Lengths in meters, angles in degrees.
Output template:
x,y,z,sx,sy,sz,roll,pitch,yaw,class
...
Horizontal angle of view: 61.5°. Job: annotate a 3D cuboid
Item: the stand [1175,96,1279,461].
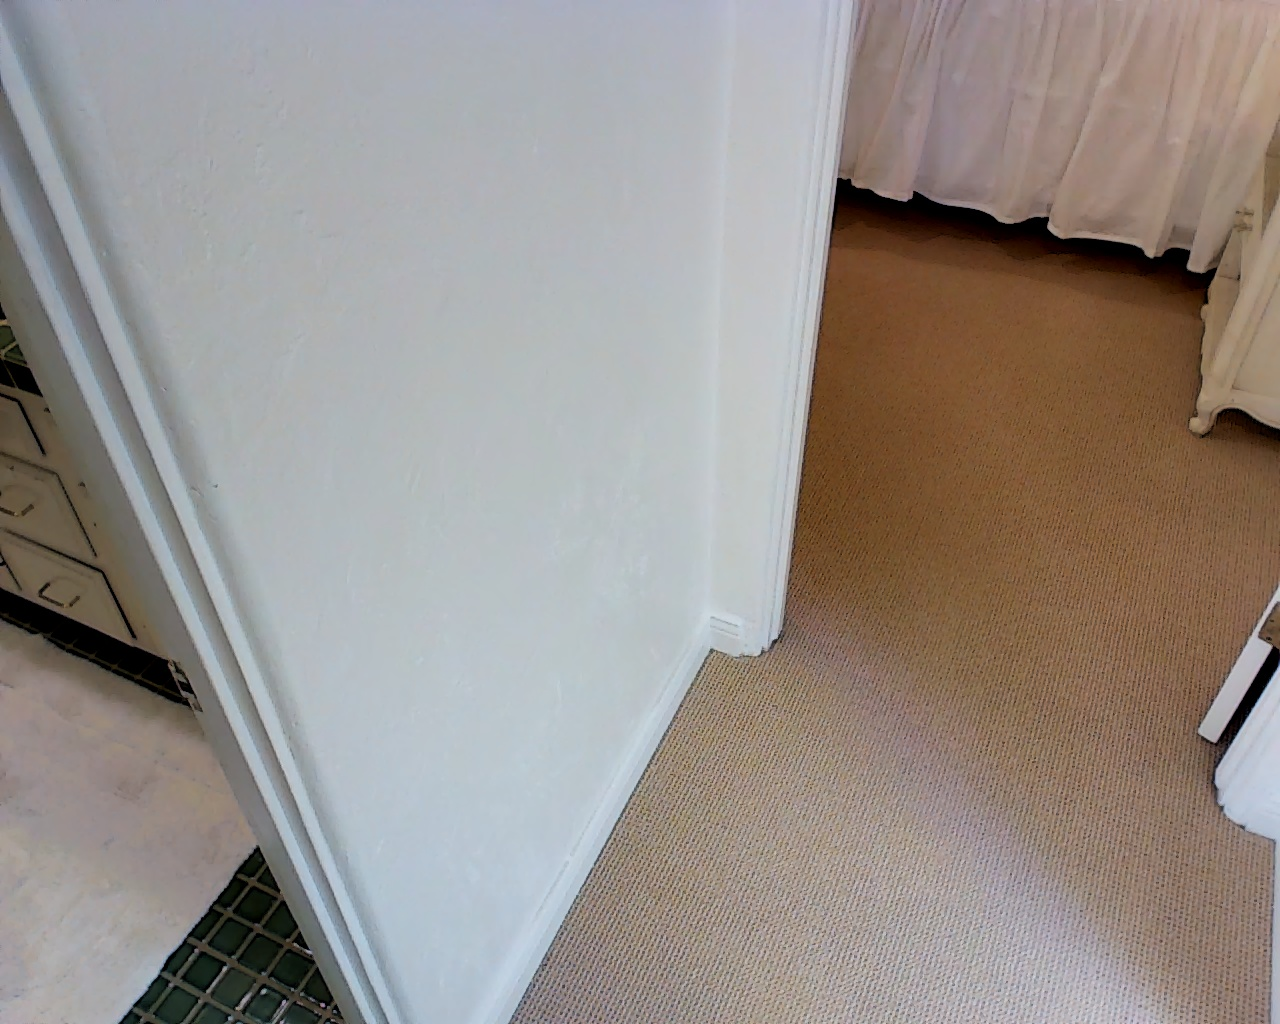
x,y,z,sx,sy,sz,roll,pitch,yaw,class
1.620,-0.560,2.470,0.470,0.670,0.640,17,46,19,stand
